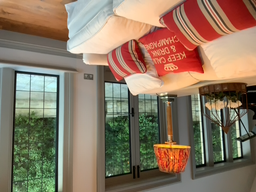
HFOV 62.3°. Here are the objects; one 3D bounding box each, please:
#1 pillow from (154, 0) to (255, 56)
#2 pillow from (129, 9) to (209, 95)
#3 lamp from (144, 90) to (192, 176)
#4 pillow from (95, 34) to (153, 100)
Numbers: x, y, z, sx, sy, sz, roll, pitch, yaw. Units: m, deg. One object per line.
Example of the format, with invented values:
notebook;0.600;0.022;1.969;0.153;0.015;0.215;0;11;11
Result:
pillow;0.440;-0.410;1.160;0.340;0.210;0.500;3;172;-32
pillow;0.280;-0.340;1.650;0.180;0.470;0.460;5;-143;-36
lamp;0.440;0.390;2.380;0.320;0.850;0.380;4;172;-34
pillow;-0.070;-0.290;2.000;0.190;0.340;0.630;5;-149;-35
